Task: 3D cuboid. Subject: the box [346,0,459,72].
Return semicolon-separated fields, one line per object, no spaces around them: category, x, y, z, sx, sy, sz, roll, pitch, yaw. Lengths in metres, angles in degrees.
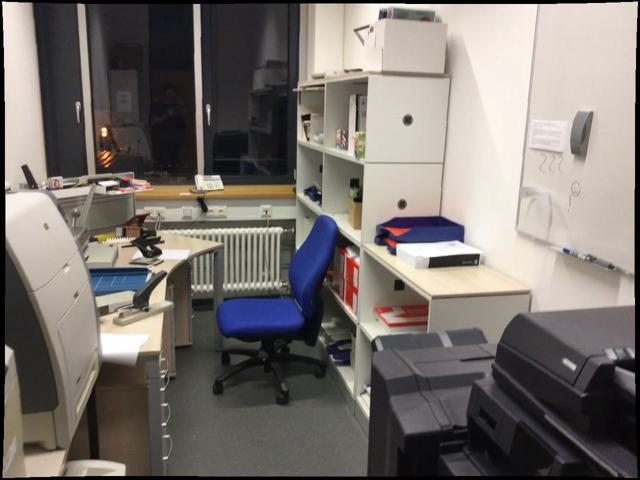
box;0.380;-0.971;2.790;0.380;0.280;0.430;-1;15;-15
